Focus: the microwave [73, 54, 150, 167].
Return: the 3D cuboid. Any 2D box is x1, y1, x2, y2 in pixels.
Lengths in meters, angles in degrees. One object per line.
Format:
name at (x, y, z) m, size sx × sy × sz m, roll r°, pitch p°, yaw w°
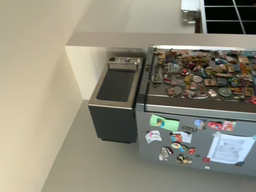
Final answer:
microwave at (-0.060, 0.110, 1.640) m, size 0.560 × 0.390 × 0.630 m, roll -73°, pitch -16°, yaw -44°
